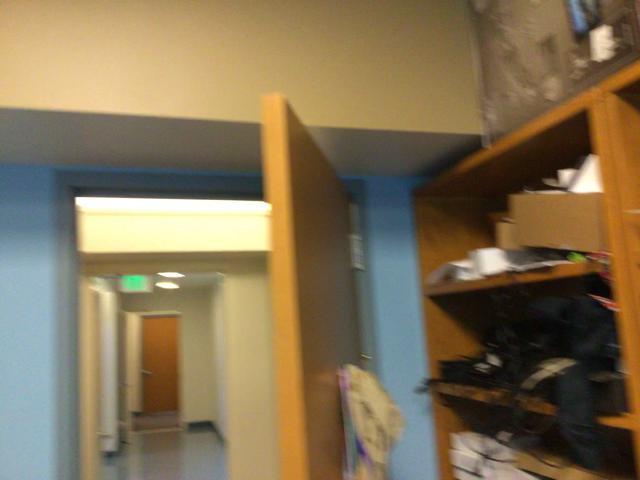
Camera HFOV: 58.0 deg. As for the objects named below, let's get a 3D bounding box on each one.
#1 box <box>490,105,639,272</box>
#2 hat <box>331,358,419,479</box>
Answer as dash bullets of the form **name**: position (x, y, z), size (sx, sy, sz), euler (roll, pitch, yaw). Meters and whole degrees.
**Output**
- **box**: position (0.700, -0.100, 1.450), size (0.350, 0.300, 0.390), euler (2, -11, -16)
- **hat**: position (0.130, 0.480, 1.410), size (0.170, 0.370, 0.130), euler (2, -11, -16)
